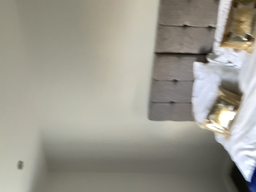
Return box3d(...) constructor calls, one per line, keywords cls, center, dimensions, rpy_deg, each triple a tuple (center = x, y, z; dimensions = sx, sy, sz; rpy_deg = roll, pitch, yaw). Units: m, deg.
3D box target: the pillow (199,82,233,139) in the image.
box3d(cls="pillow", center=(0.830, 0.140, 2.020), dimensions=(0.130, 0.270, 0.470), rpy_deg=(27, 138, 39))
